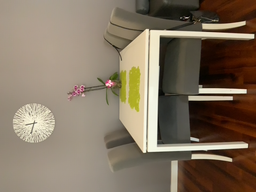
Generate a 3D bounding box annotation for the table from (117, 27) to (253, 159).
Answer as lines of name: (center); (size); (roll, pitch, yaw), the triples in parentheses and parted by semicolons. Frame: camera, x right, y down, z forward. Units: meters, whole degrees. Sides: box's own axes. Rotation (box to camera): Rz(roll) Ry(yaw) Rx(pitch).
table: (0.360, -0.050, 2.010); (1.240, 0.760, 0.830); (-163, 73, -79)
